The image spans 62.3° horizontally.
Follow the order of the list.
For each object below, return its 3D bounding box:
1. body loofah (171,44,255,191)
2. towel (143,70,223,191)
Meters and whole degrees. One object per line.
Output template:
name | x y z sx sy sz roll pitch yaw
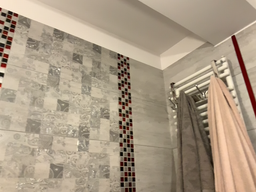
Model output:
body loofah | 0.440 0.380 0.910 0.270 1.200 0.250 -22 -31 38
towel | 0.290 0.360 1.120 0.260 0.940 0.240 15 -29 -34
